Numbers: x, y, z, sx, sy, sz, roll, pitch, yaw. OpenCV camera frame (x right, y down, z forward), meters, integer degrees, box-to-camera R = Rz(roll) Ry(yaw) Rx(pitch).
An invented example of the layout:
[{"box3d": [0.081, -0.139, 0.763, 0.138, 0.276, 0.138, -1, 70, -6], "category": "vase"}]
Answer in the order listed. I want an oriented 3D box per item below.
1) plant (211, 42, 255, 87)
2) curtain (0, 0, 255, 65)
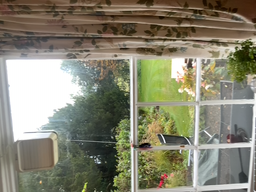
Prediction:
[{"box3d": [0.510, -0.130, 0.860, 0.150, 0.270, 0.160, -110, 20, -73], "category": "plant"}, {"box3d": [-0.090, -0.330, 0.930, 0.270, 1.360, 0.350, -117, 28, -78], "category": "curtain"}]
